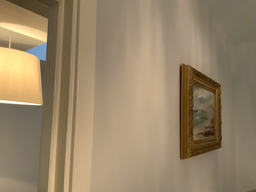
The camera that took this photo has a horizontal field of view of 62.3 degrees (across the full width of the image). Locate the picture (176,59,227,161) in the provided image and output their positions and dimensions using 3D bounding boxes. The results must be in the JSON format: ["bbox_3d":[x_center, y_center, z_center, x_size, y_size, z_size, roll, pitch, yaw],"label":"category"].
[{"bbox_3d":[0.440,0.100,1.160,0.030,0.390,0.840,-3,-9,35],"label":"picture"}]
